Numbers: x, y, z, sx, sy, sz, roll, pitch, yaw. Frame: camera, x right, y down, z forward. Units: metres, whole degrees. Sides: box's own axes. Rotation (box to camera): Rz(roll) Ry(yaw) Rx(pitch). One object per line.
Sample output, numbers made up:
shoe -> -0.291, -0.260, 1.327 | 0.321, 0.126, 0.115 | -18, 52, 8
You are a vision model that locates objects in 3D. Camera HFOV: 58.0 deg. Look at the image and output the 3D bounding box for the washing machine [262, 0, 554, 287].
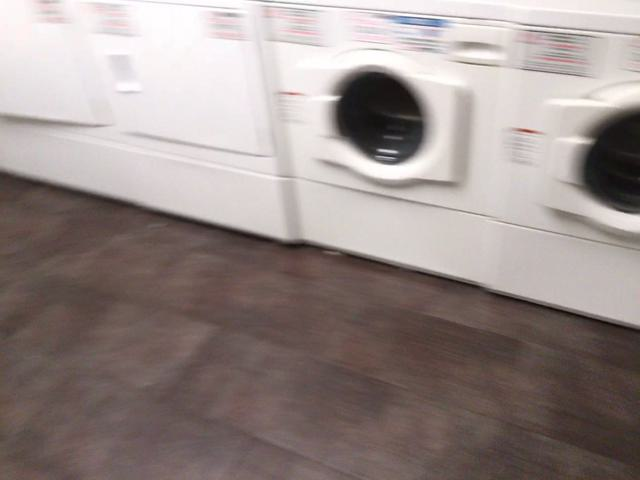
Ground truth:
washing machine -> 0.340, -0.540, 1.880 | 0.670, 1.040, 0.750 | 10, 38, 24
